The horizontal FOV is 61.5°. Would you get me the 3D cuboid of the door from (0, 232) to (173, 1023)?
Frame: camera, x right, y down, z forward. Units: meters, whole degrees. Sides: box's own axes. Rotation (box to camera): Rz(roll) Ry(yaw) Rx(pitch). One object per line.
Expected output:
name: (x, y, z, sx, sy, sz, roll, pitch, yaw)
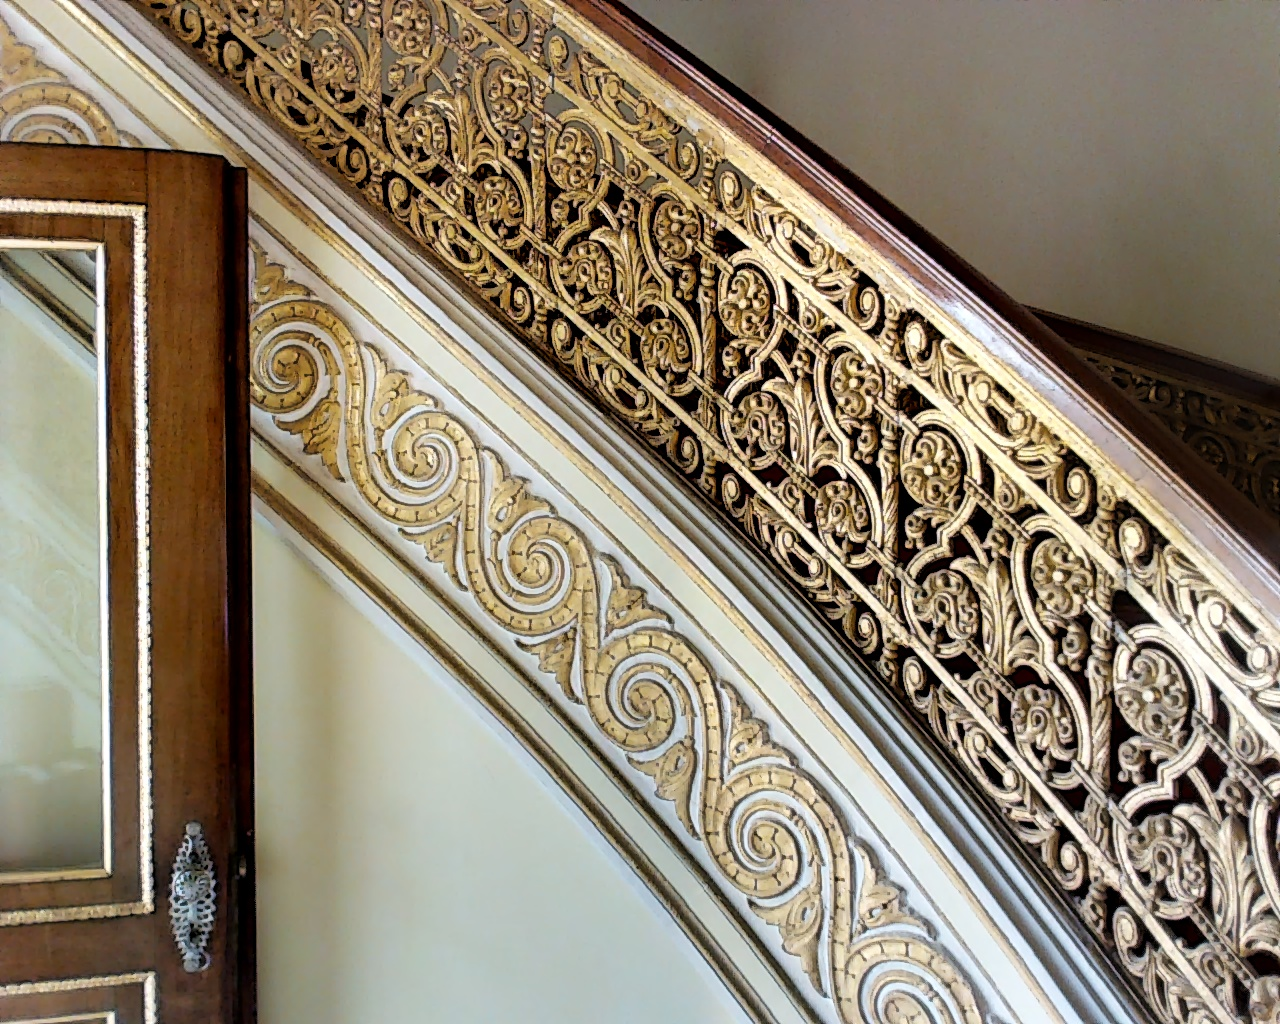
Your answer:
door: (-1.030, 0.590, 1.850, 0.400, 2.121, 0.090, -1, 0, -7)
